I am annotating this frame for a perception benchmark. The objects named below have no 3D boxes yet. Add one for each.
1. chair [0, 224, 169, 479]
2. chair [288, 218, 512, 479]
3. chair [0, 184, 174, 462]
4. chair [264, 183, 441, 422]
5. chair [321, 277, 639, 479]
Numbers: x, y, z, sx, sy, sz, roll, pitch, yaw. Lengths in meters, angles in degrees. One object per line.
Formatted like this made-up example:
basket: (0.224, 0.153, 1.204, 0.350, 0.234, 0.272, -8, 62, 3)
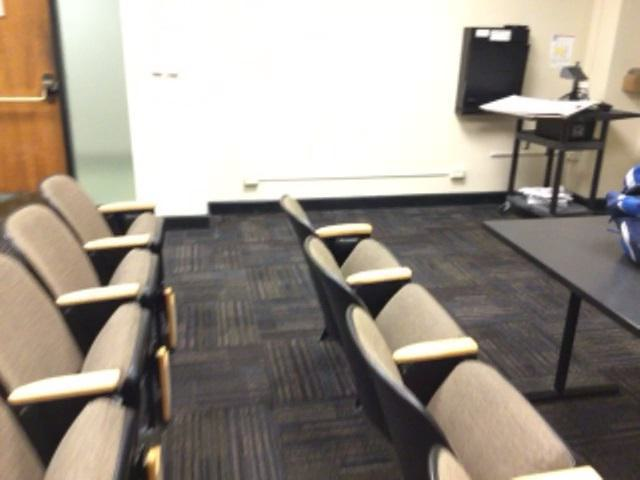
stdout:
chair: (-0.740, 0.430, 1.730, 0.500, 0.780, 0.590, -5, 21, -14)
chair: (0.200, 0.390, 1.900, 0.490, 0.750, 0.600, -5, 21, -14)
chair: (-0.840, 0.260, 2.170, 0.490, 0.780, 0.630, -5, 21, -14)
chair: (0.090, 0.210, 2.390, 0.520, 0.730, 0.640, -5, 21, -14)
chair: (0.320, 0.560, 1.410, 0.500, 0.730, 0.570, -5, 21, -14)
